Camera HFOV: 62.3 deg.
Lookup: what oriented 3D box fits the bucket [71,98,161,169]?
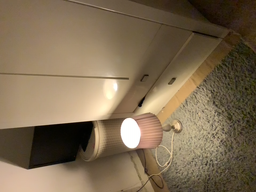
[{"bbox_3d":[-0.120,0.300,1.850,0.380,0.580,0.410,-56,47,38],"label":"bucket"}]
